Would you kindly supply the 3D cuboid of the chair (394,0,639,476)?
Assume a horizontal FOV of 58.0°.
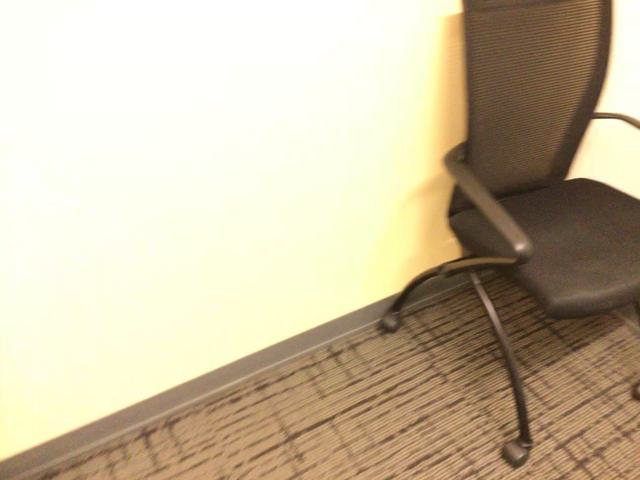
[{"bbox_3d":[0.560,-0.050,1.330,0.570,0.910,0.480,-19,37,-23],"label":"chair"}]
